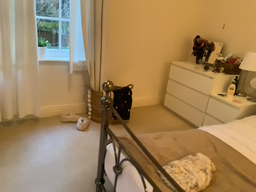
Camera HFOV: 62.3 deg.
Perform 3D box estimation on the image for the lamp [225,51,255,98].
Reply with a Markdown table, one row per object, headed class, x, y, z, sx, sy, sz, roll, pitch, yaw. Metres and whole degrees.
| class | x | y | z | sx | sy | sz | roll | pitch | yaw |
| --- | --- | --- | --- | --- | --- | --- | --- | --- | --- |
| lamp | 1.410 | -0.260 | 2.570 | 0.220 | 0.510 | 0.230 | -5 | 23 | -28 |
